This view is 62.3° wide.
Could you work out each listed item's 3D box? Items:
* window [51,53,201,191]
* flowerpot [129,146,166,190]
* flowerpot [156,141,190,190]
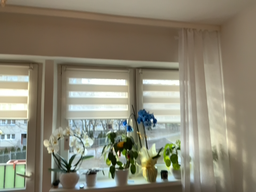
[{"bbox_3d":[0.000,0.260,2.030,1.340,1.190,0.310,1,-6,-15],"label":"window"},{"bbox_3d":[0.180,0.670,2.020,0.280,0.340,0.240,1,-6,-14],"label":"flowerpot"},{"bbox_3d":[0.430,0.660,2.080,0.220,0.400,0.280,1,-6,-14],"label":"flowerpot"}]
